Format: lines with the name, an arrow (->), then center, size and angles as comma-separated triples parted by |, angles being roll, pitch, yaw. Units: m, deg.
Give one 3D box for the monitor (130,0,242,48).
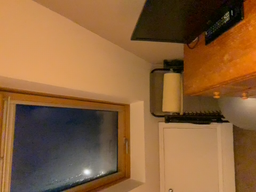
monitor -> 0.220, -0.340, 0.950 | 0.570, 0.340, 0.030 | 135, 135, -79
